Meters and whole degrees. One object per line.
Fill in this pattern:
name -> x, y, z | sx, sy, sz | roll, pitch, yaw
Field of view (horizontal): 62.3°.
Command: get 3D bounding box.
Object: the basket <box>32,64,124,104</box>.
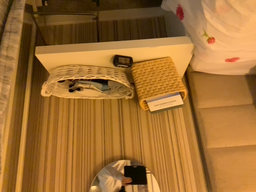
basket -> -0.270, -0.060, 1.280 | 0.470, 0.090, 0.320 | -4, 160, 0

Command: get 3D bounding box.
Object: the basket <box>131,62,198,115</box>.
basket -> 0.190, -0.030, 1.260 | 0.330, 0.190, 0.310 | -4, 160, -1

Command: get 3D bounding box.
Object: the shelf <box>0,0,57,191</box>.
shelf -> -0.730, 0.040, 1.140 | 0.450, 1.650, 0.520 | -4, 160, 0
